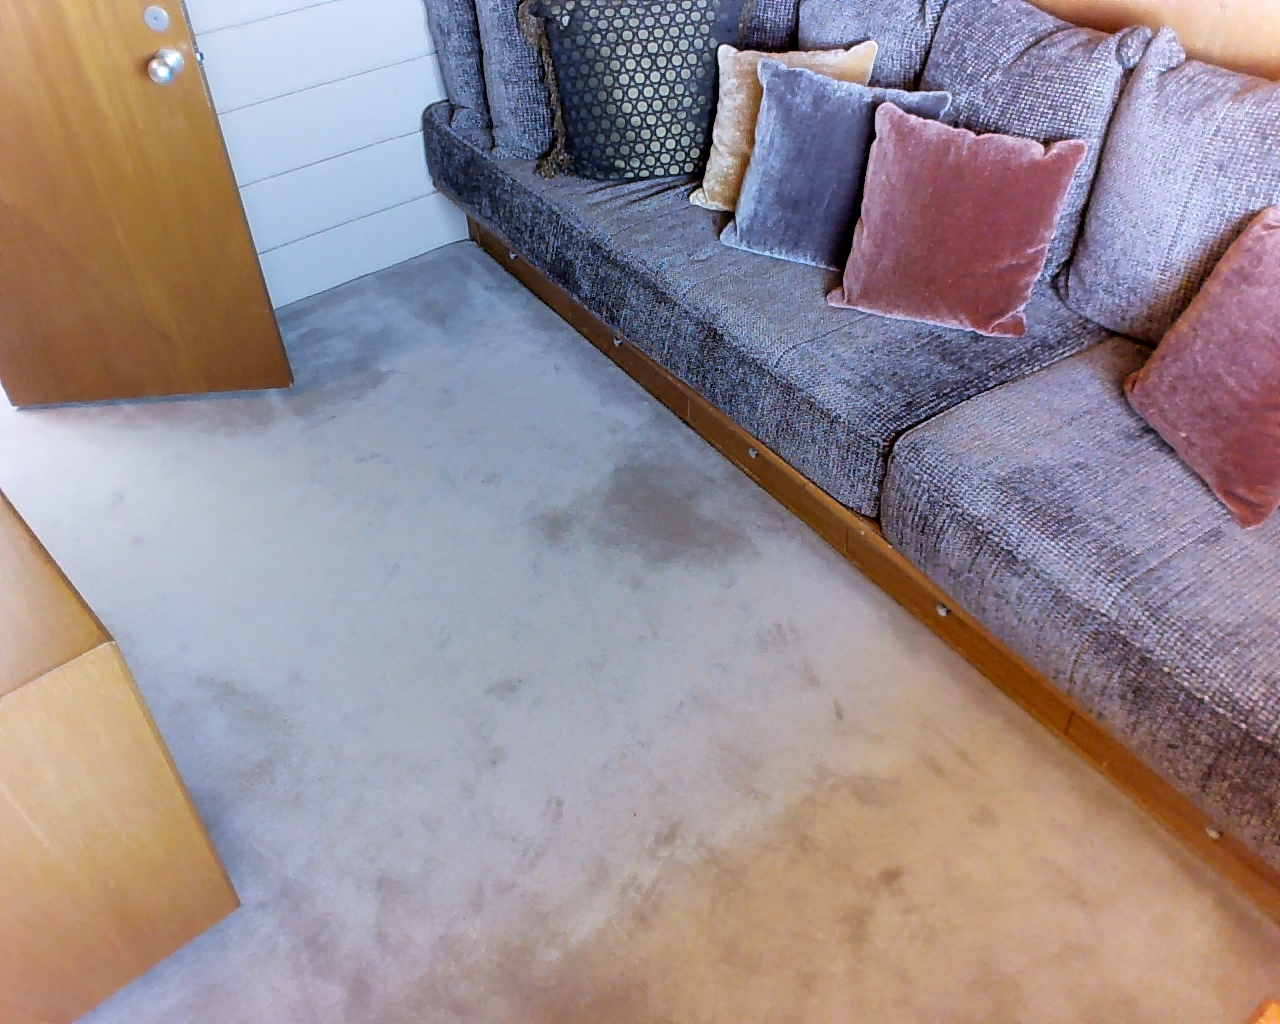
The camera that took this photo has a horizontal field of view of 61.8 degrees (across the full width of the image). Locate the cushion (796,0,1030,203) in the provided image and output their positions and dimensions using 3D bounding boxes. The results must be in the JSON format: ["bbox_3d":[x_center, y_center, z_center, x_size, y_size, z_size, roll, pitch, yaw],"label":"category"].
[{"bbox_3d":[0.580,-1.060,2.440,0.120,0.400,0.750,-14,43,-12],"label":"cushion"}]

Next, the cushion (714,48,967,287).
[{"bbox_3d":[0.420,-0.750,2.320,0.460,0.370,0.230,16,45,20],"label":"cushion"}]

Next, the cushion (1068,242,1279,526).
[{"bbox_3d":[0.910,-0.220,1.760,0.160,0.260,0.410,-9,42,-7],"label":"cushion"}]

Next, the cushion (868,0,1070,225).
[{"bbox_3d":[0.670,-0.900,2.270,0.110,0.370,0.510,-14,43,-12],"label":"cushion"}]

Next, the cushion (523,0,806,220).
[{"bbox_3d":[0.050,-1.130,2.710,0.530,0.580,0.210,17,26,-13],"label":"cushion"}]

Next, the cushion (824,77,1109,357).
[{"bbox_3d":[0.630,-0.590,2.120,0.420,0.380,0.270,21,47,25],"label":"cushion"}]

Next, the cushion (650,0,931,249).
[{"bbox_3d":[0.350,-0.940,2.530,0.470,0.440,0.200,34,21,14],"label":"cushion"}]

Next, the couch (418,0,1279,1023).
[{"bbox_3d":[0.700,-0.370,2.190,0.890,0.860,3.620,-23,46,-21],"label":"couch"}]
